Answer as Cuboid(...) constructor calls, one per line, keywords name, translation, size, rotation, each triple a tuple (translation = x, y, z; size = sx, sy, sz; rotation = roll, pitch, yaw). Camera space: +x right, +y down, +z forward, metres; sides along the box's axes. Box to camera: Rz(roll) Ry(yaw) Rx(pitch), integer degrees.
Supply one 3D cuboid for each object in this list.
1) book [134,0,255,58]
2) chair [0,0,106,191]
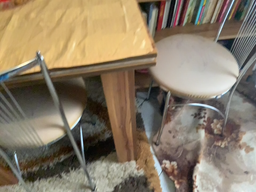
Cuboid(name="book", translation=(0.390, -0.440, 1.170), size=(0.680, 0.270, 0.220), rotation=(-11, 50, -6))
Cuboid(name="chair", translation=(-0.360, 0.100, 0.830), size=(0.420, 0.810, 0.250), rotation=(-11, 50, -5))
